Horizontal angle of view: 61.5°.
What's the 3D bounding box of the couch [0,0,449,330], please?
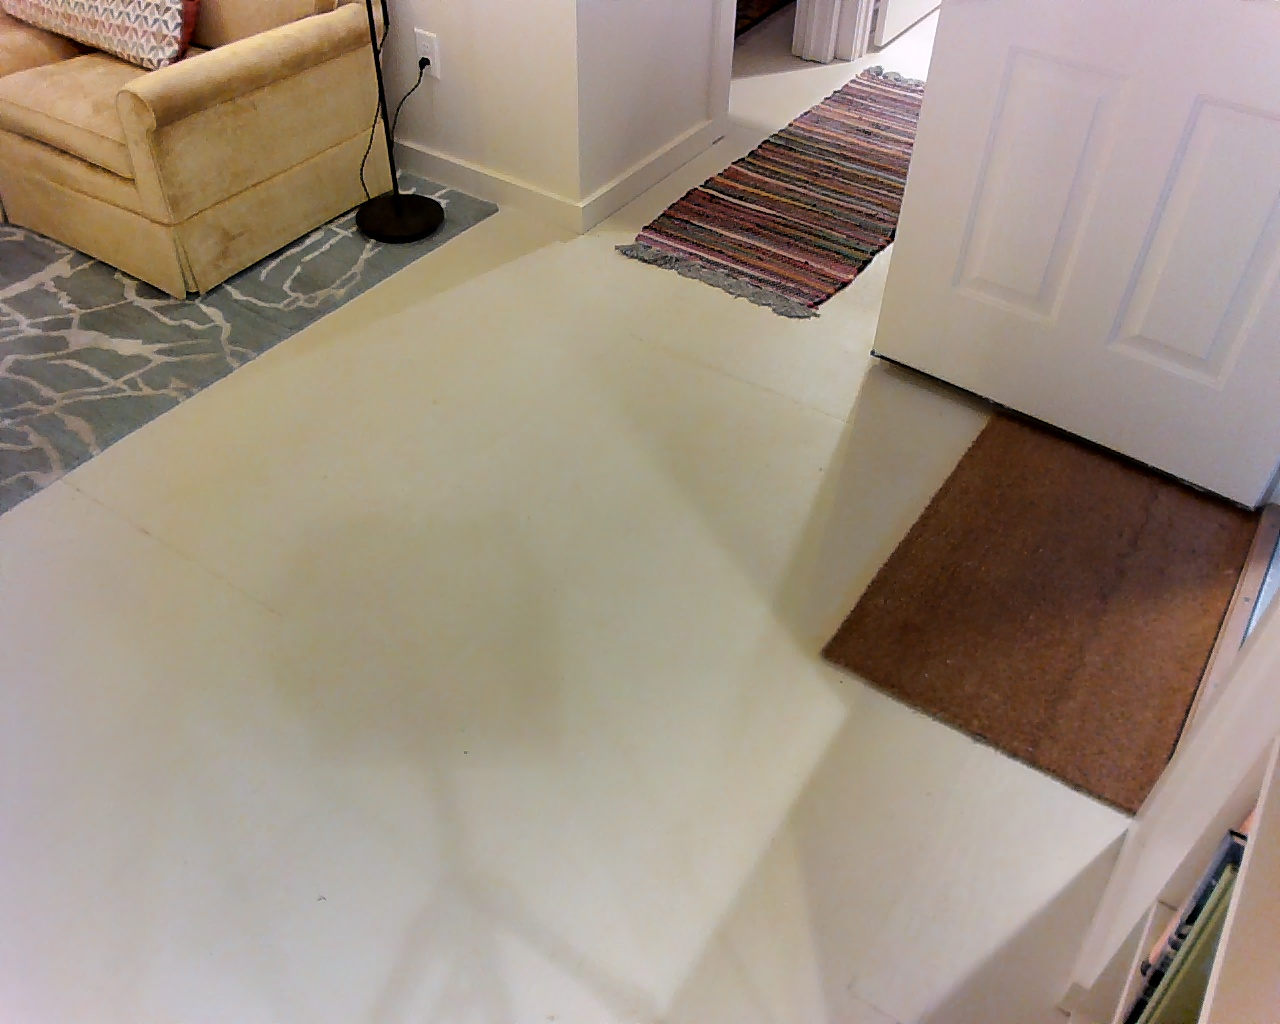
[{"bbox_3d":[-1.580,-1.330,3.190,1.690,0.690,1.000,25,48,23],"label":"couch"}]
